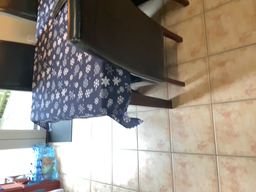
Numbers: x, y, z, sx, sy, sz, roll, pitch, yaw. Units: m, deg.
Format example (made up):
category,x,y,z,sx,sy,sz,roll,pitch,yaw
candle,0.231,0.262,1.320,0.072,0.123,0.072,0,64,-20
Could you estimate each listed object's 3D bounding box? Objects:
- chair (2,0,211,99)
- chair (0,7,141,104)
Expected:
category,x,y,z,sx,sy,sz,roll,pitch,yaw
chair,-0.040,-0.290,1.420,0.680,1.210,0.420,-10,77,42
chair,-0.530,-0.220,1.890,0.670,1.180,0.430,-9,77,42
